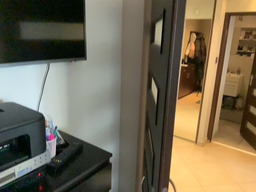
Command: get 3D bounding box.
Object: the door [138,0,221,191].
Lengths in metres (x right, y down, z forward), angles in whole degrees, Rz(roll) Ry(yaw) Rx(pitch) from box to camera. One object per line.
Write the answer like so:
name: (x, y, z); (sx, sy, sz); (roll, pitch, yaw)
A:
door: (0.160, 0.340, 1.180); (0.110, 1.790, 0.880); (2, 16, 0)
